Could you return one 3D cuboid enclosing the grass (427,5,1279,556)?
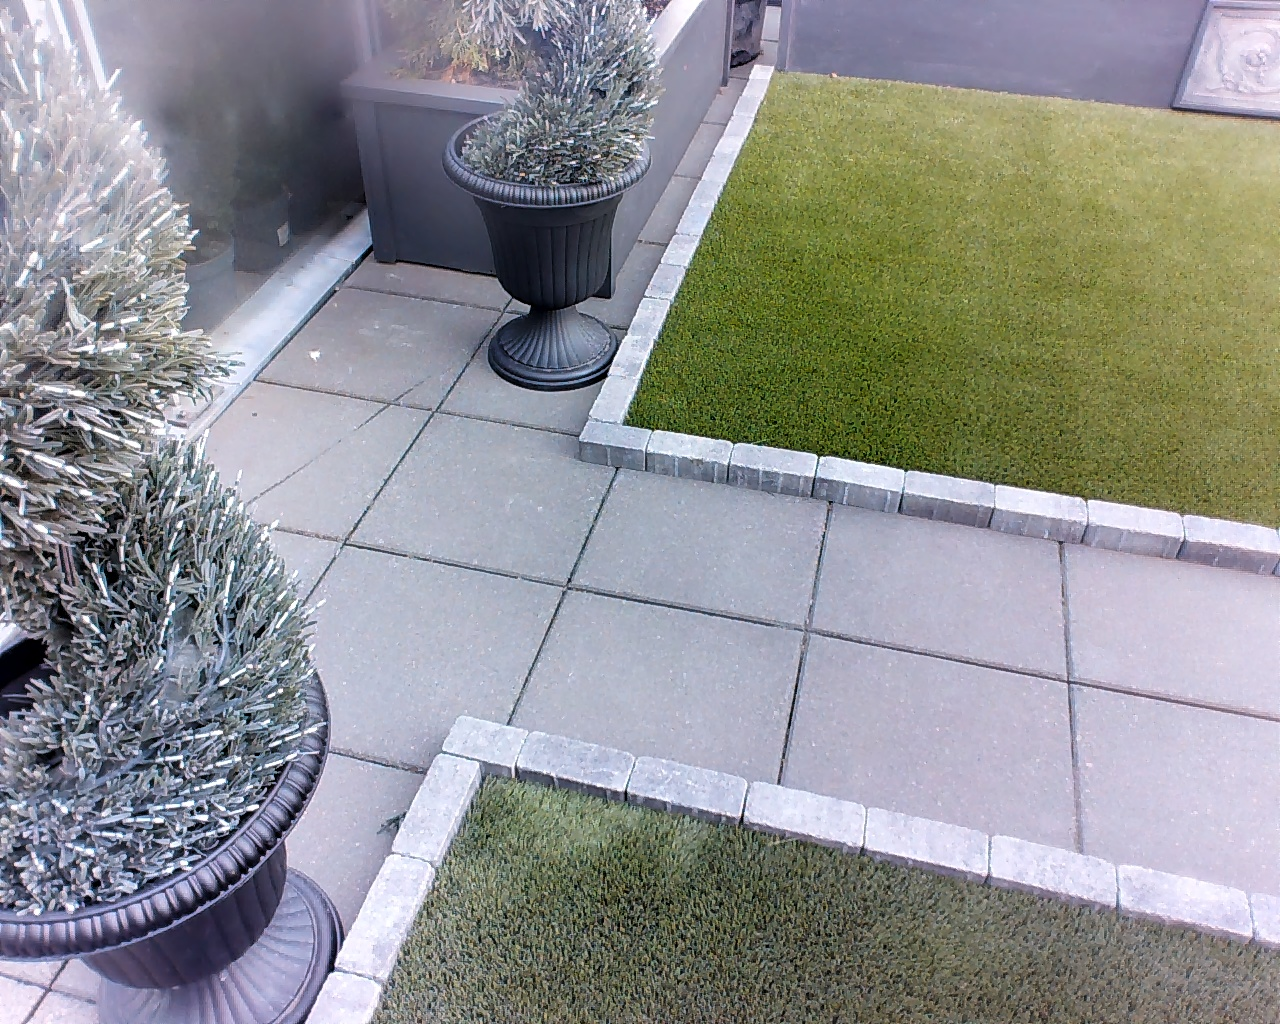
[{"bbox_3d":[2.389,-0.700,2.930,5.179,0.120,2.780,11,42,12],"label":"grass"}]
